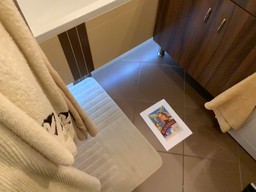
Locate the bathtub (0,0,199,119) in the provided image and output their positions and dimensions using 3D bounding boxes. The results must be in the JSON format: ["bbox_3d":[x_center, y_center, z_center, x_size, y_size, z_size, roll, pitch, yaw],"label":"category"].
[{"bbox_3d":[-0.240,-0.590,1.430,1.380,0.630,0.670,-32,68,-17],"label":"bathtub"}]
